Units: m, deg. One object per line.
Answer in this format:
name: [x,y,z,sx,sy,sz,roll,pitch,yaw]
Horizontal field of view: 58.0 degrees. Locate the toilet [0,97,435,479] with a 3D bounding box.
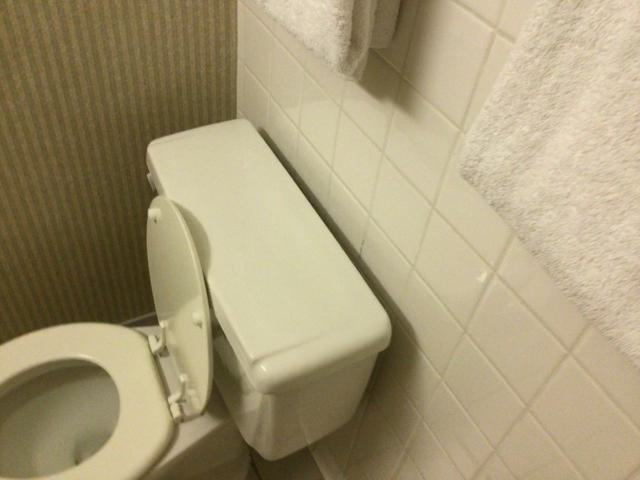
toilet: [-0.320,0.270,1.000,0.680,0.740,0.530,-18,50,-25]
